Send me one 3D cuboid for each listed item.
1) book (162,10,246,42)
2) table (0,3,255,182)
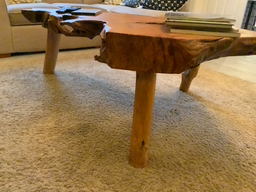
[{"bbox_3d":[0.280,-0.300,0.870,0.260,0.060,0.360,8,26,8],"label":"book"},{"bbox_3d":[-0.110,-0.170,1.120,1.300,0.480,0.830,8,26,8],"label":"table"}]
